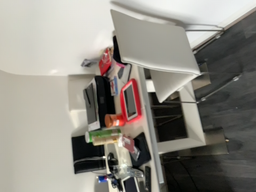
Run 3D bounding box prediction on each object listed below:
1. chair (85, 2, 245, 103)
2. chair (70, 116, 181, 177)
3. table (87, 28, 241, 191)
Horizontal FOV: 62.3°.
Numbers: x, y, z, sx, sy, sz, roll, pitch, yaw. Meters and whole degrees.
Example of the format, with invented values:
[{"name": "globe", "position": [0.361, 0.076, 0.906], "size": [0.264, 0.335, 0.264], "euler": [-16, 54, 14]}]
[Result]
[{"name": "chair", "position": [0.250, -0.250, 1.580], "size": [0.550, 0.970, 0.390], "euler": [-43, 54, 54]}, {"name": "chair", "position": [-0.020, 0.470, 2.100], "size": [0.390, 0.980, 0.420], "euler": [-31, 64, 59]}, {"name": "table", "position": [0.190, 0.210, 1.940], "size": [1.000, 0.760, 1.140], "euler": [-32, 63, 58]}]
